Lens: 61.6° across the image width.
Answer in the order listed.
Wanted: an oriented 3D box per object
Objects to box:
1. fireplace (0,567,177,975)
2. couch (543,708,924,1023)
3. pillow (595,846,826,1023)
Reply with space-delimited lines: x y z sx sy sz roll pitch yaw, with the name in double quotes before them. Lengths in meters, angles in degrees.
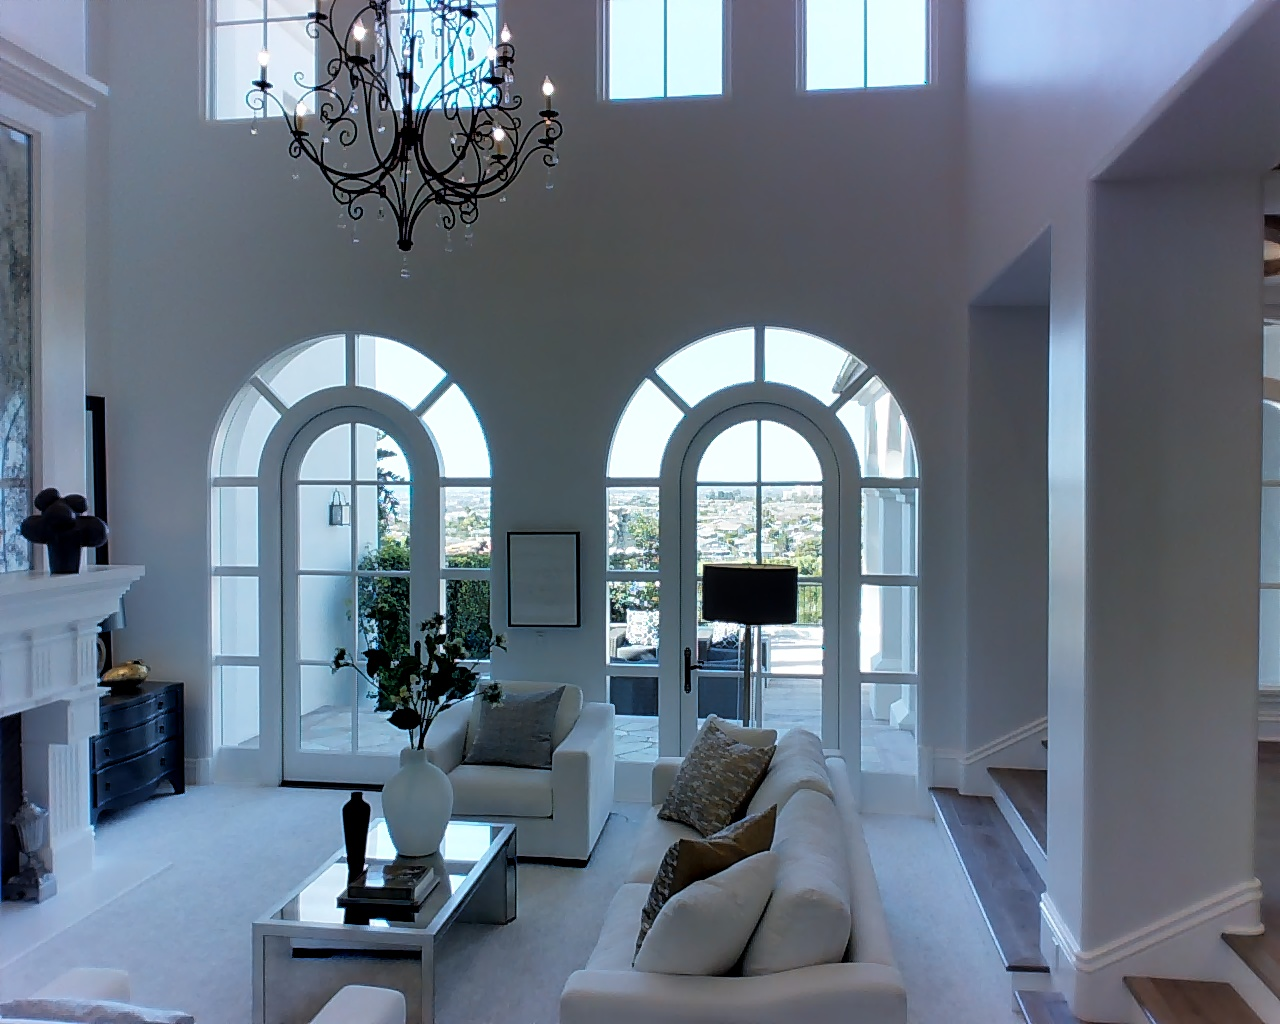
"fireplace" -3.269 1.190 5.060 0.980 1.691 2.190 1 1 9
"couch" 0.460 1.601 4.480 1.090 0.970 2.810 1 1 8
"pillow" 0.240 1.400 3.490 0.290 0.520 0.530 39 7 37
